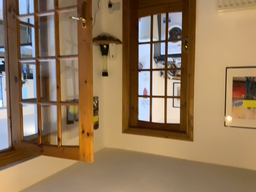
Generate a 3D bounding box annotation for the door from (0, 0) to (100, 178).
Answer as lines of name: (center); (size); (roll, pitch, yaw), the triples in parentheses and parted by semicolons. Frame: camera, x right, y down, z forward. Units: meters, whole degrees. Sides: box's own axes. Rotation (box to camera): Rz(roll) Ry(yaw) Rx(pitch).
door: (-0.680, -0.500, 1.610); (0.950, 2.070, 0.160); (2, -175, 24)
